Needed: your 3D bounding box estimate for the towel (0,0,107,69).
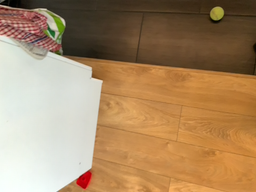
[{"bbox_3d":[-0.540,-0.330,0.940,0.650,0.710,0.260,7,90,16],"label":"towel"}]
